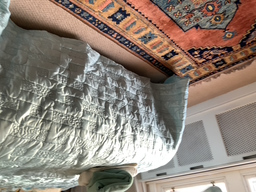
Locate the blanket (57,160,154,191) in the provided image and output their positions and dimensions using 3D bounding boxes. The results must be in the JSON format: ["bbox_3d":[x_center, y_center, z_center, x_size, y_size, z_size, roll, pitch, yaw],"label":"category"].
[{"bbox_3d":[-0.150,0.570,1.420,0.480,0.160,0.420,-25,148,34],"label":"blanket"}]
